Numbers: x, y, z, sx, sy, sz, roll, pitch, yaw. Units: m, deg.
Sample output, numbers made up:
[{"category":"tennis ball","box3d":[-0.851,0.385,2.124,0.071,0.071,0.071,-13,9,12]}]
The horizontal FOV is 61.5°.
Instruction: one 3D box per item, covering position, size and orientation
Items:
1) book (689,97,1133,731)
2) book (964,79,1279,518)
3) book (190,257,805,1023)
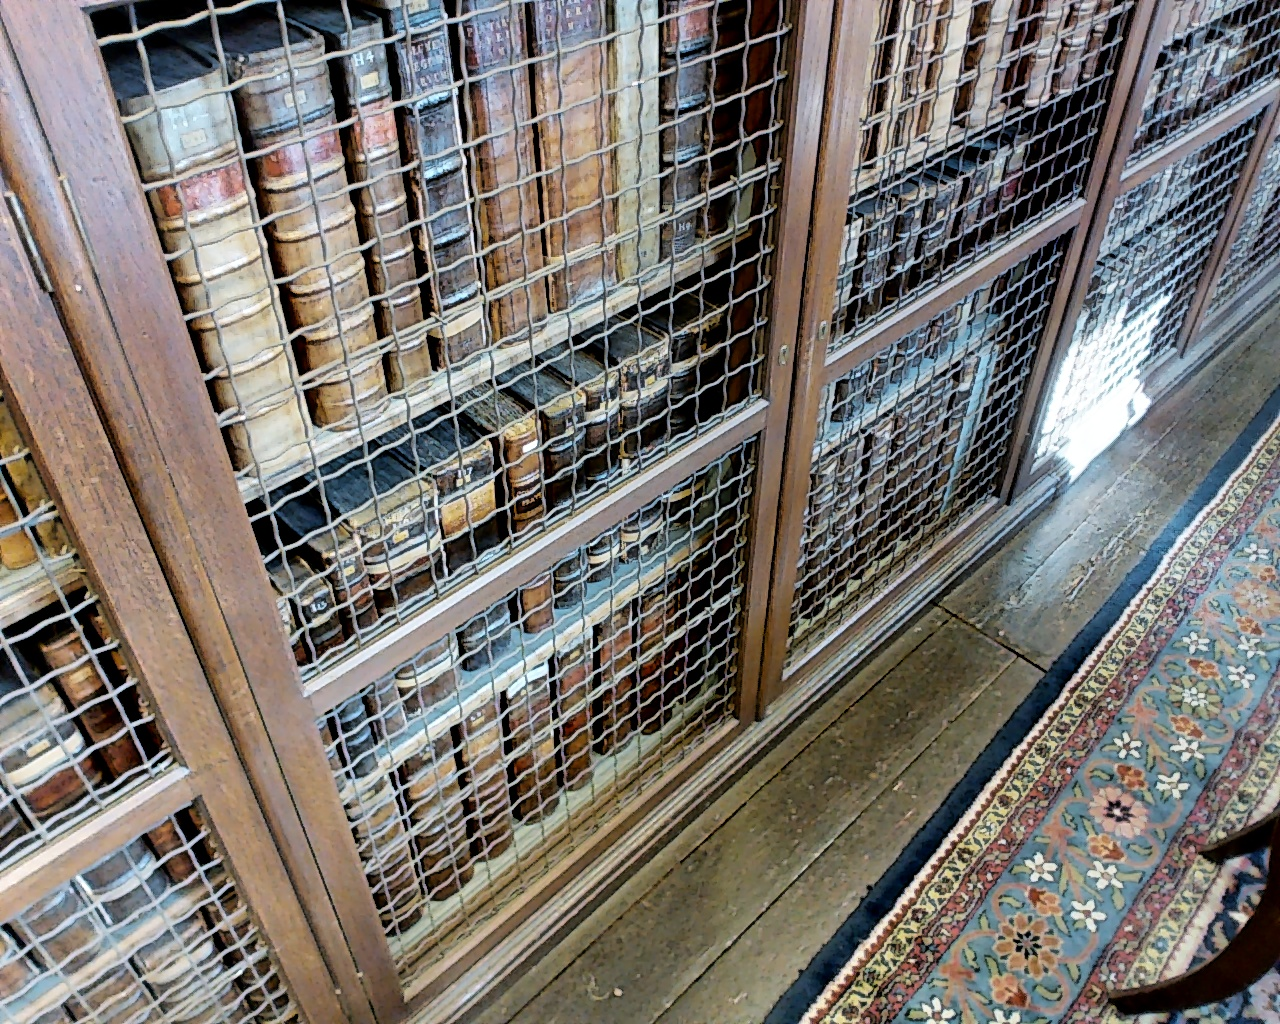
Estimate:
[{"category":"book","box3d":[0.430,-0.160,1.820,0.740,0.830,0.220,-33,51,-32]},{"category":"book","box3d":[1.030,-0.460,2.300,0.200,0.690,0.700,32,50,31]},{"category":"book","box3d":[-0.110,0.200,1.410,0.190,0.840,0.690,32,50,31]}]
